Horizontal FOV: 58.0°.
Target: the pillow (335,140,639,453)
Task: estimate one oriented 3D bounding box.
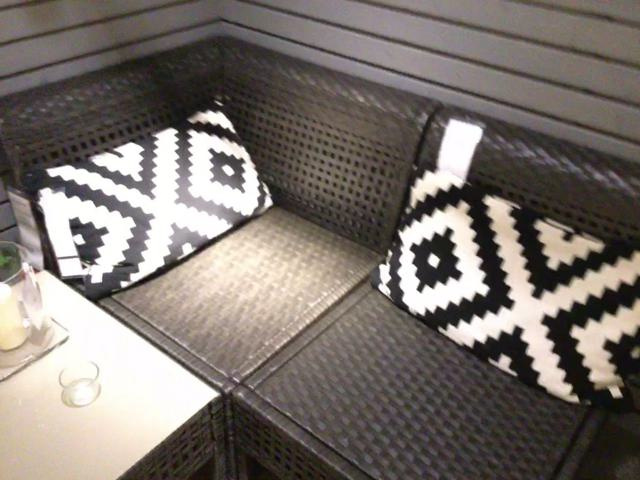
[{"bbox_3d":[0.420,0.070,1.310,0.700,0.340,0.340,25,38,32],"label":"pillow"}]
